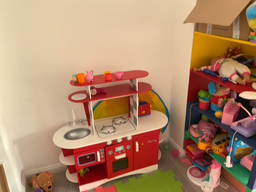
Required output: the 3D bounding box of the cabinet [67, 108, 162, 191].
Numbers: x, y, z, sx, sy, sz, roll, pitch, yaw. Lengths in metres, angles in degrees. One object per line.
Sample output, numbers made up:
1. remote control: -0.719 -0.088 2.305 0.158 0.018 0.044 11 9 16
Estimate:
1. cabinet: -0.120 0.480 2.010 0.780 0.500 0.360 -10 26 -18
